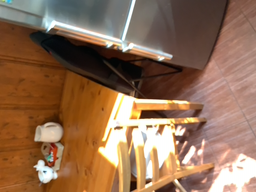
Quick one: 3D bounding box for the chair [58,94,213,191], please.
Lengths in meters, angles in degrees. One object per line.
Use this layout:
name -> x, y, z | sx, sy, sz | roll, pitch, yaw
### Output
chair -> 0.090, 0.280, 1.390 | 0.460, 0.910, 0.460 | -16, 76, 45
